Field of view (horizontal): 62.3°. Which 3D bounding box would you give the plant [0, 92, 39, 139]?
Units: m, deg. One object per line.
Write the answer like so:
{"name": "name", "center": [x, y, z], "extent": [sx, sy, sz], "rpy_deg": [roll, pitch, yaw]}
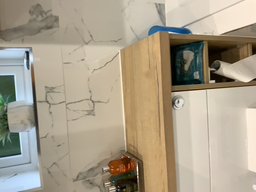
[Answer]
{"name": "plant", "center": [-0.530, 0.080, 0.980], "extent": [0.230, 0.200, 0.180], "rpy_deg": [180, 85, -66]}
